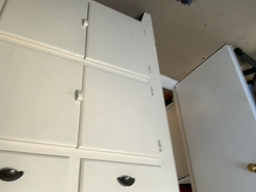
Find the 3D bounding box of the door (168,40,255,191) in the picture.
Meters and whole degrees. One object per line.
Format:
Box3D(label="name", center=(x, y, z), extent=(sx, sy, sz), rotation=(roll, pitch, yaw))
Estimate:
Box3D(label="door", center=(0.670, 0.410, 1.570), extent=(0.070, 1.620, 0.690), rotation=(15, 145, -28))
